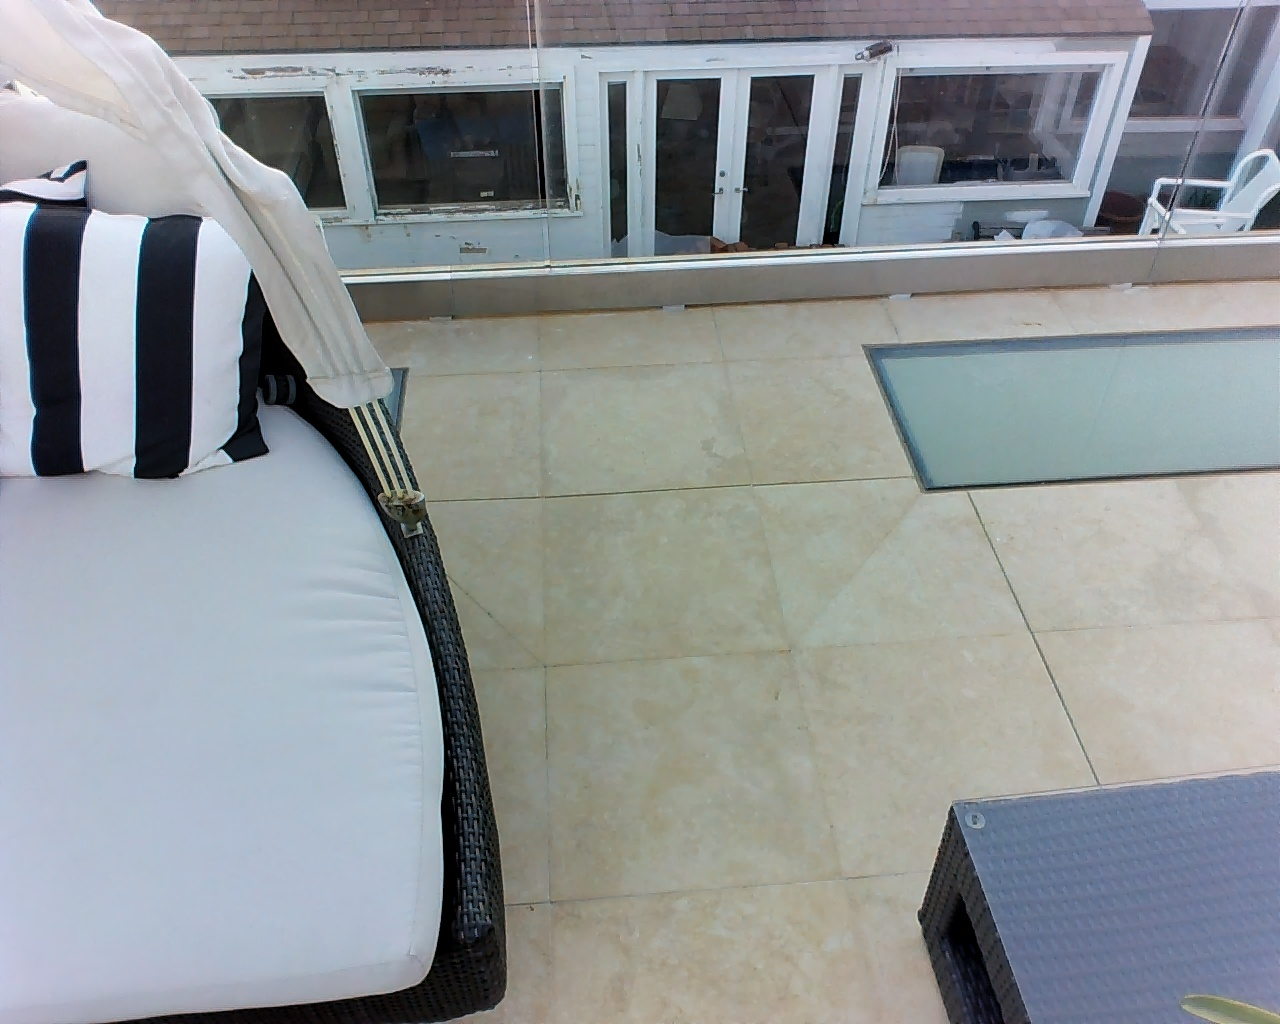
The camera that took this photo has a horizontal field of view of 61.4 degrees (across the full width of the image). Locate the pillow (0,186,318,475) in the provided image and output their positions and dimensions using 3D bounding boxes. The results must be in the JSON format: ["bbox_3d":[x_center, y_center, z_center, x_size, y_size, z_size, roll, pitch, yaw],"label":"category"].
[{"bbox_3d":[-0.800,-0.250,1.620,0.510,0.220,0.460,-4,-16,-4],"label":"pillow"}]
